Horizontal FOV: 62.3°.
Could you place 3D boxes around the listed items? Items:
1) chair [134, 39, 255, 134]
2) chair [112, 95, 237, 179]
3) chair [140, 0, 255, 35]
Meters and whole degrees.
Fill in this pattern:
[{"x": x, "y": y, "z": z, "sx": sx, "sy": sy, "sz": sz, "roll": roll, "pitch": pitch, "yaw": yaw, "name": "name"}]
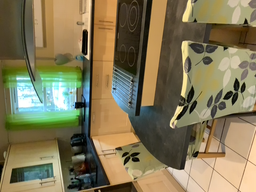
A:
[{"x": 0.580, "y": -0.110, "z": 1.380, "sx": 0.520, "sy": 0.920, "sz": 0.420, "roll": -141, "pitch": 52, "yaw": -61, "name": "chair"}, {"x": 0.390, "y": 0.300, "z": 1.850, "sx": 0.410, "sy": 0.940, "sz": 0.490, "roll": -142, "pitch": 54, "yaw": -61, "name": "chair"}, {"x": 0.610, "y": -0.600, "z": 1.240, "sx": 0.500, "sy": 0.920, "sz": 0.420, "roll": -141, "pitch": 52, "yaw": -61, "name": "chair"}]
